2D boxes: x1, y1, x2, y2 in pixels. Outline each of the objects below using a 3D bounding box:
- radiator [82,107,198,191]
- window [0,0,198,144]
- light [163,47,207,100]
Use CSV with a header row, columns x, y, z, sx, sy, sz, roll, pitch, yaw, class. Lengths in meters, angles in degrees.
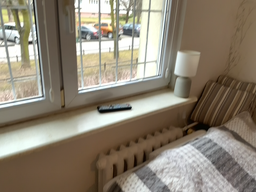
x,y,z,sx,sy,sz,roll,pitch,yaw,class
0.140,0.550,1.750,1.030,0.660,0.190,-15,30,-38,radiator
-0.530,-0.370,0.870,2.510,1.190,0.160,-15,29,-37,window
0.410,-0.170,1.540,0.220,0.320,0.160,-14,29,-36,light
